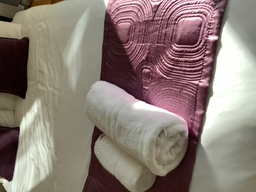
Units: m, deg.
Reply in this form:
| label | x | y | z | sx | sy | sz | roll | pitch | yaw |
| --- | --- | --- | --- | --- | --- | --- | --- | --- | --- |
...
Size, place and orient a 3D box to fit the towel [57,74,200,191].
| label | x | y | z | sx | sy | sz | roll | pitch | yaw |
| --- | --- | --- | --- | --- | --- | --- | --- | --- | --- |
| towel | -0.040 | 0.120 | 0.660 | 0.430 | 0.130 | 0.280 | 22 | 104 | 43 |
